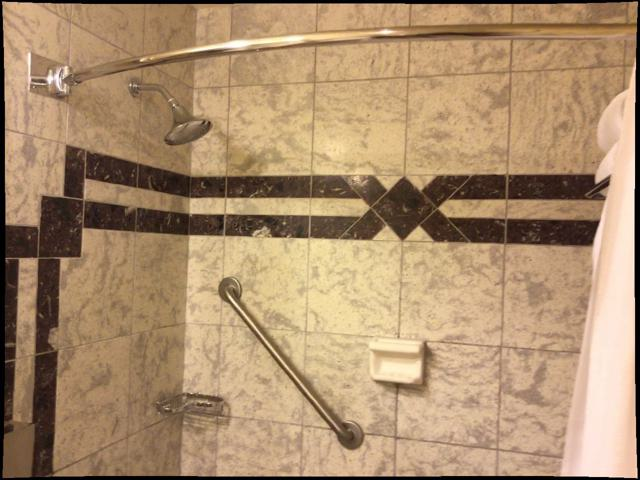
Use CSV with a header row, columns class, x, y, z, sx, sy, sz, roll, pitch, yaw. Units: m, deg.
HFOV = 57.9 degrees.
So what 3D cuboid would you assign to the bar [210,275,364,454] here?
class,x,y,z,sx,sy,sz,roll,pitch,yaw
bar,-0.110,0.380,1.820,0.060,0.660,0.060,-44,-10,13
